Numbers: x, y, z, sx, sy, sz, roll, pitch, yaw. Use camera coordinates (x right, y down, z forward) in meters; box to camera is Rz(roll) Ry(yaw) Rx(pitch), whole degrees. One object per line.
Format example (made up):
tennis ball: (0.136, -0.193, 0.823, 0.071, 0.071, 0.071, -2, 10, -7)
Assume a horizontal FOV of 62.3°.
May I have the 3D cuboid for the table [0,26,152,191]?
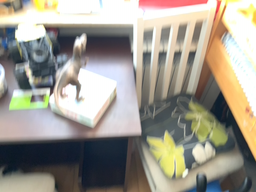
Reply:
table: (-0.400, 0.140, 1.100, 0.860, 0.740, 0.620, -1, 48, -5)
